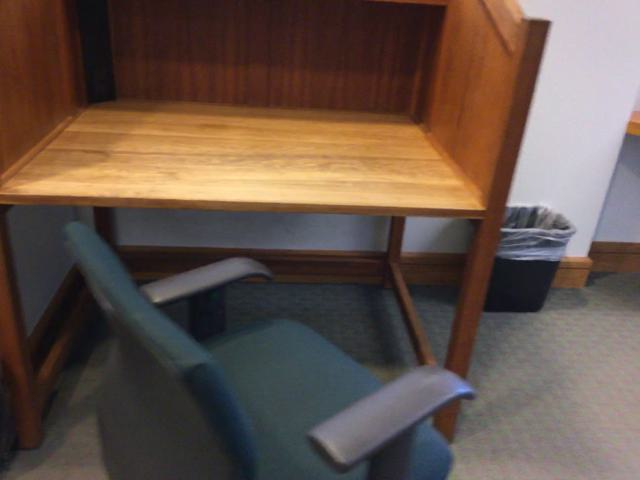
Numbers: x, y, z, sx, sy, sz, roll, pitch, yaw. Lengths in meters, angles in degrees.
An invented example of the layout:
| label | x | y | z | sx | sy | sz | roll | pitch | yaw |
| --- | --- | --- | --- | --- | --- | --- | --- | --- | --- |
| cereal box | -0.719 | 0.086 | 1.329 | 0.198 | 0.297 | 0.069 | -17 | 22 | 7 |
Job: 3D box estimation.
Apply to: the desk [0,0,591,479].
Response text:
| label | x | y | z | sx | sy | sz | roll | pitch | yaw |
| --- | --- | --- | --- | --- | --- | --- | --- | --- | --- |
| desk | -0.190 | -0.230 | 1.720 | 1.390 | 1.510 | 1.030 | -2 | 25 | 0 |

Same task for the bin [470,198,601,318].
| label | x | y | z | sx | sy | sz | roll | pitch | yaw |
| --- | --- | --- | --- | --- | --- | --- | --- | --- | --- |
| bin | 0.840 | 0.070 | 2.320 | 0.390 | 0.400 | 0.270 | -1 | 25 | 3 |
